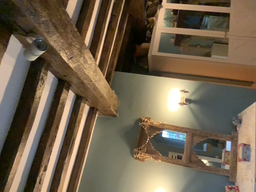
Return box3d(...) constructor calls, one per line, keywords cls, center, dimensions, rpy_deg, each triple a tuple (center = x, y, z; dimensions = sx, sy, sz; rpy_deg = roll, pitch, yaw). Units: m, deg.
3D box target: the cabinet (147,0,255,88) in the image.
box3d(cls="cabinet", center=(1.680, -1.370, 4.450), dimensions=(0.840, 2.230, 1.920), rpy_deg=(72, -151, -70))
